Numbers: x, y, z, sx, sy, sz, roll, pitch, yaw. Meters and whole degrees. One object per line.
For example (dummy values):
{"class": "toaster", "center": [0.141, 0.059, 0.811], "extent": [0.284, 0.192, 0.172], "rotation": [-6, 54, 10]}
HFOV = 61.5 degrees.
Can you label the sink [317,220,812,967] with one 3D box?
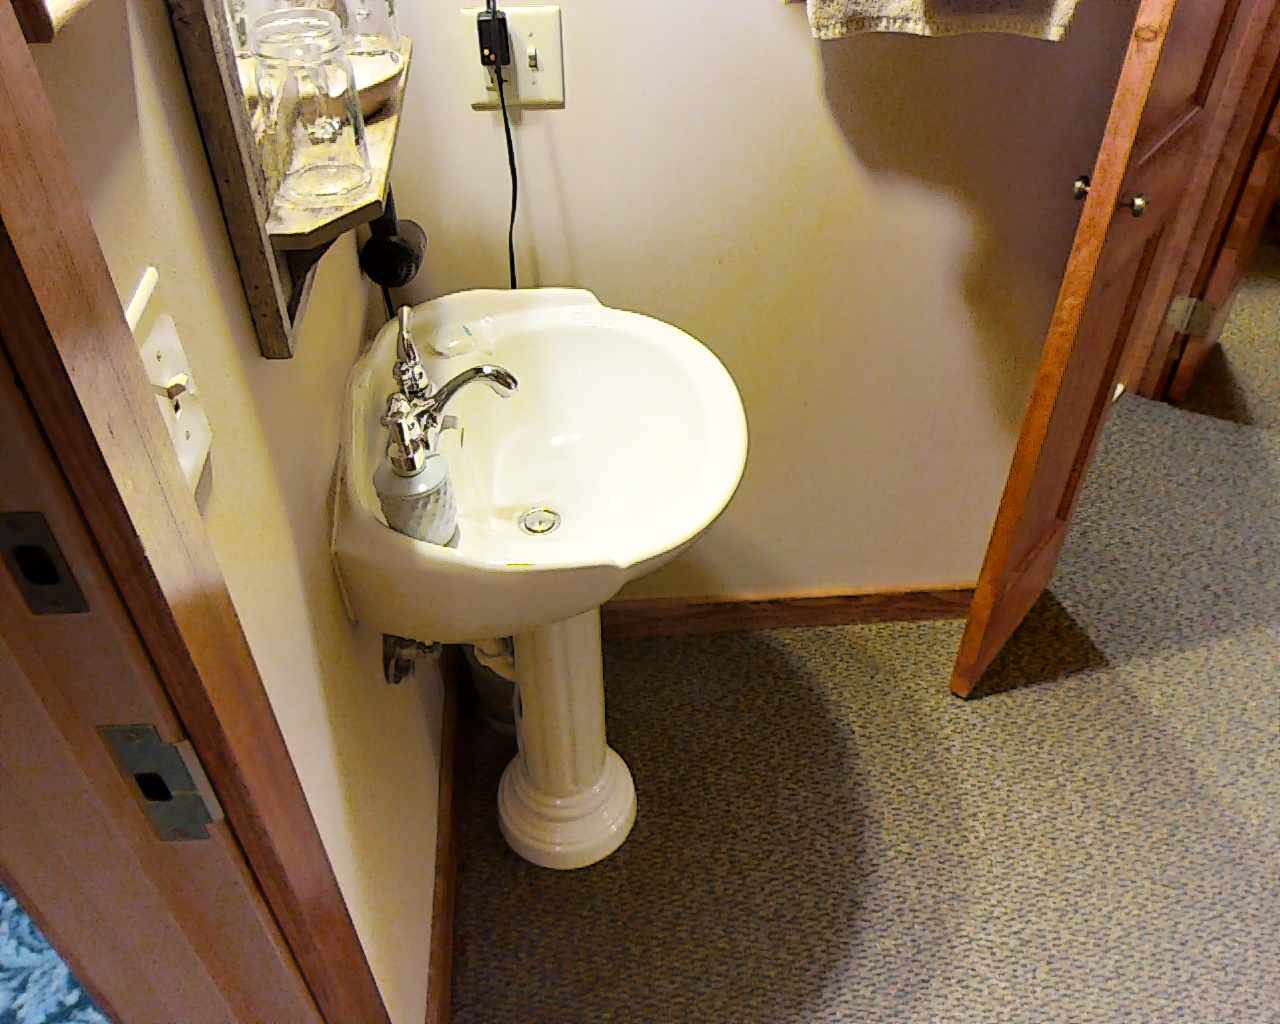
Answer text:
{"class": "sink", "center": [-0.100, 0.130, 1.570], "extent": [0.480, 0.850, 0.650], "rotation": [-4, 43, -4]}
